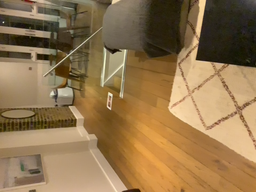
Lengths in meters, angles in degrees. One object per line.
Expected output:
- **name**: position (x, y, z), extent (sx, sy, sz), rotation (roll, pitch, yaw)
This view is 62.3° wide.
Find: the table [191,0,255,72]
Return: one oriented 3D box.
- **table**: position (0.710, -0.370, 1.250), extent (0.420, 0.410, 0.420), rotation (27, 114, 60)
